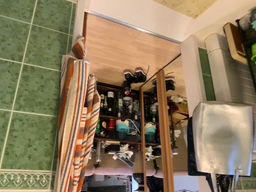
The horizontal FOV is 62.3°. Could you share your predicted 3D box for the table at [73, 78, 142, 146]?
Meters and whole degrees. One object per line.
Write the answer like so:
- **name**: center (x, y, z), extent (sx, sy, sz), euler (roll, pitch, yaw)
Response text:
- **table**: center (-0.250, 0.230, 2.650), extent (0.740, 0.680, 0.370), euler (10, 155, -22)
